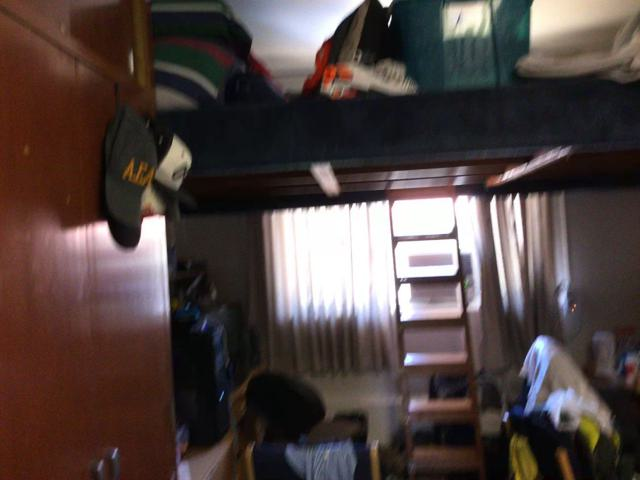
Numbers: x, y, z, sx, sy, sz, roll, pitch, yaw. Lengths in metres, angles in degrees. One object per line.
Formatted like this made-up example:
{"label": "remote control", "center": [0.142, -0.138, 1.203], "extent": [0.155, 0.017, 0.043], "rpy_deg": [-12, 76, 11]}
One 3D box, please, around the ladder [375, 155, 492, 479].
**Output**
{"label": "ladder", "center": [0.650, 0.500, 3.410], "extent": [0.540, 1.920, 0.370], "rpy_deg": [-3, -1, 3]}

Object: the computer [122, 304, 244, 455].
{"label": "computer", "center": [-0.600, 0.610, 2.590], "extent": [0.450, 0.600, 0.260], "rpy_deg": [-3, -1, 3]}

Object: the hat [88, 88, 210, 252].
{"label": "hat", "center": [-0.410, -0.150, 1.460], "extent": [0.150, 0.350, 0.410], "rpy_deg": [-3, -1, 3]}
